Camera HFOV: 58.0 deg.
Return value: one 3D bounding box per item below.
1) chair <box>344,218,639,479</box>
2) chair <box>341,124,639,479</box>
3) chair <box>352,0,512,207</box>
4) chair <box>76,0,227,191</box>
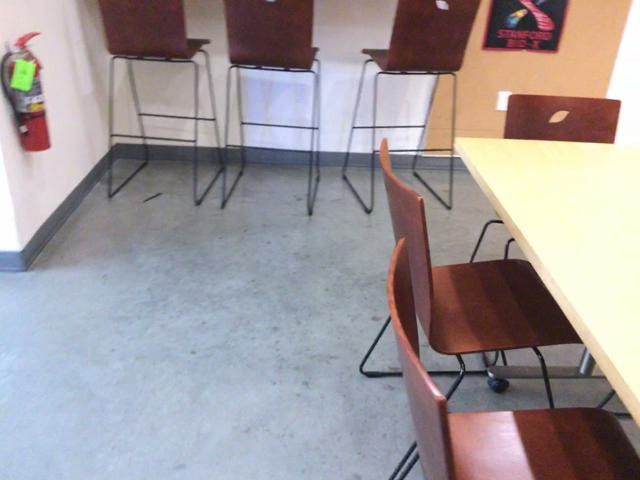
[{"bbox_3d":[0.340,0.400,1.010,0.580,0.690,0.490,5,28,3],"label":"chair"},{"bbox_3d":[0.390,0.180,1.560,0.590,0.820,0.500,5,28,3],"label":"chair"},{"bbox_3d":[0.520,-0.770,2.970,0.530,1.040,0.590,1,24,-8],"label":"chair"},{"bbox_3d":[-0.810,-0.800,2.960,0.550,0.950,0.490,3,28,1],"label":"chair"}]
